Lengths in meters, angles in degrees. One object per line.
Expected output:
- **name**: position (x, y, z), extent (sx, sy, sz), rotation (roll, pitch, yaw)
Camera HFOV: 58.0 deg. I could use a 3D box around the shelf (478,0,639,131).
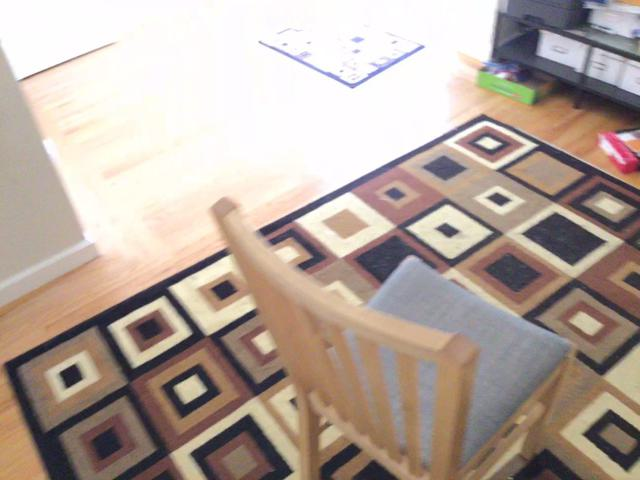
- **shelf**: position (1.280, -0.900, 2.330), extent (0.450, 0.650, 1.190), rotation (-31, 48, -23)
